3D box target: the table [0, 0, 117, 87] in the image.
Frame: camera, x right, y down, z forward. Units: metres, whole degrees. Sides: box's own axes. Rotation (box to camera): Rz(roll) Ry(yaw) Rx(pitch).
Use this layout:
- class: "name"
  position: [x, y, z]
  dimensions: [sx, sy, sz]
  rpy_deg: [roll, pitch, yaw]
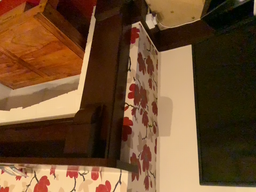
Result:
- class: "table"
  position: [-0.750, -0.470, 1.710]
  dimensions: [1.100, 0.380, 0.690]
  rpy_deg: [-9, 153, 28]
